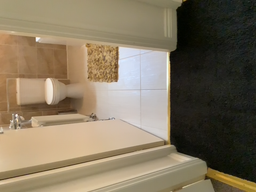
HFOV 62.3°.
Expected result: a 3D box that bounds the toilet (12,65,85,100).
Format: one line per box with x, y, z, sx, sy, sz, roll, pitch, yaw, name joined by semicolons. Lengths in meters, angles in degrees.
-1.060;-0.170;2.790;0.680;0.750;0.380;4;96;57;toilet
